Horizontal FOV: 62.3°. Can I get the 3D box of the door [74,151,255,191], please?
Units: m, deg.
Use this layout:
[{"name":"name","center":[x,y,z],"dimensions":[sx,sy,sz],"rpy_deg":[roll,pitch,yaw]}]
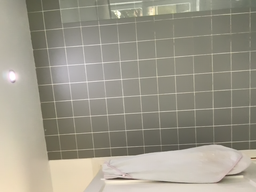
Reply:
[{"name":"door","center":[0.710,0.540,1.520],"dimensions":[0.860,2.060,0.040],"rpy_deg":[20,-114,-87]}]
